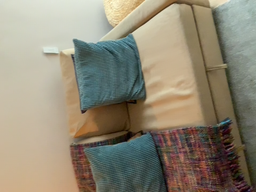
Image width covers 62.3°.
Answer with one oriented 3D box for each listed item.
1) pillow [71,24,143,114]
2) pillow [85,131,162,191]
[{"bbox_3d":[-0.120,-0.150,1.460,0.200,0.490,0.490,-13,84,23],"label":"pillow"},{"bbox_3d":[0.000,0.540,1.360,0.240,0.430,0.540,-12,85,31],"label":"pillow"}]
